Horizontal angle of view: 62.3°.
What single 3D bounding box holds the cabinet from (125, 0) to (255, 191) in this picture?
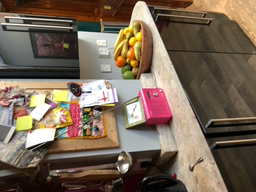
[{"bbox_3d":[0.600,-0.040,1.510,0.520,0.890,1.710,108,156,-50],"label":"cabinet"}]
